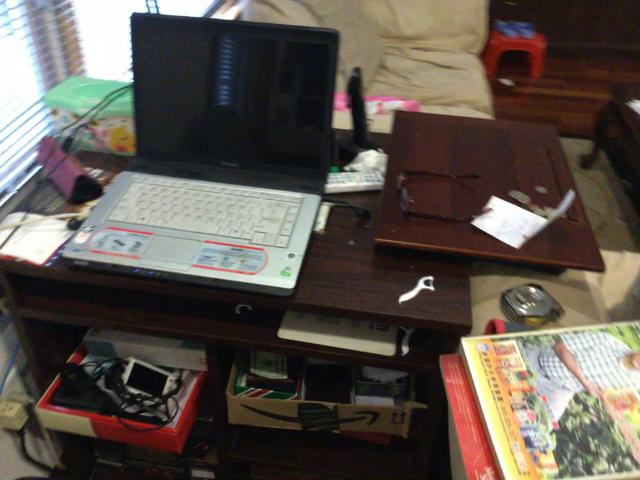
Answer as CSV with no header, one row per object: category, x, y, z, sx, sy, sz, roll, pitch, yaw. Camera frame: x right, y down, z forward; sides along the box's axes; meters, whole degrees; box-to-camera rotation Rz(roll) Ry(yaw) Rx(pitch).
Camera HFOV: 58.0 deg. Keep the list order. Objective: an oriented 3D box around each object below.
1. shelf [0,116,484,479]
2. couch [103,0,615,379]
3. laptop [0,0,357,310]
shelf,-0.160,0.230,1.170,0.790,0.790,0.420,5,39,6
couch,0.170,-0.570,2.090,0.980,0.970,1.770,5,39,6
laptop,-0.190,-0.190,0.930,0.450,0.310,0.480,5,39,6
